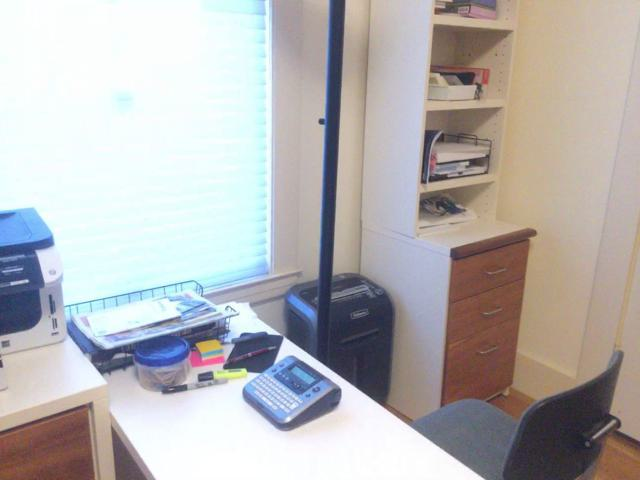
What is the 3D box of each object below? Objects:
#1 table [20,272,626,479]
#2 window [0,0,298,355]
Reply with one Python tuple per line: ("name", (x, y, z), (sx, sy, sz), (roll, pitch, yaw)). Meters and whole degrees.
("table", (-0.090, 0.640, 1.150), (0.560, 0.750, 1.210), (-11, 21, -39))
("window", (-0.500, -0.600, 1.500), (1.040, 1.710, 0.100), (-11, 21, -39))
